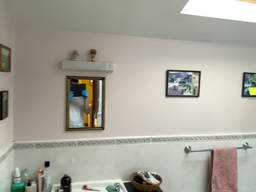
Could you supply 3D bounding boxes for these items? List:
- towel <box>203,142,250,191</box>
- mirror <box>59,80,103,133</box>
[{"bbox_3d":[0.860,0.680,1.870,0.320,0.490,0.170,0,3,-13],"label":"towel"},{"bbox_3d":[-0.360,0.080,1.640,0.330,0.400,0.040,0,3,-13],"label":"mirror"}]
